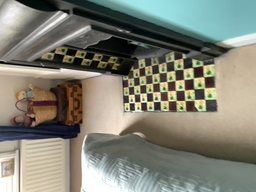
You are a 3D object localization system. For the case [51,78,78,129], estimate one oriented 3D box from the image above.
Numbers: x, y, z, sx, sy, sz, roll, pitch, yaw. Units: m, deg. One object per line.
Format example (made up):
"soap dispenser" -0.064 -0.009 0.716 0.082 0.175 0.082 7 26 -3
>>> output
"case" -0.820 0.100 2.720 0.360 0.190 0.600 -6 84 47
